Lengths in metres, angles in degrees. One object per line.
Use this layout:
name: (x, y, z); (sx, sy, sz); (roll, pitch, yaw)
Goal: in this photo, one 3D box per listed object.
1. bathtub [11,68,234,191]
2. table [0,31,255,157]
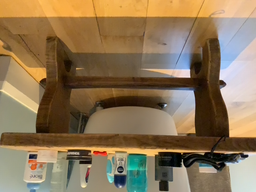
bathtub: (-0.020, 0.470, 1.690); (0.840, 0.650, 1.760); (0, 161, 0)
table: (-0.010, 0.020, 0.780); (0.740, 0.380, 0.310); (0, 162, 0)
